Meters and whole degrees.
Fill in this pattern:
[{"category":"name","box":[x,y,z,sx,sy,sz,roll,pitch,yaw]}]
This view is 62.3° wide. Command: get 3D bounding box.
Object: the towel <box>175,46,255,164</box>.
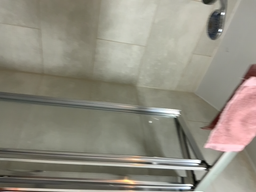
[{"category":"towel","box":[0.350,0.070,0.680,0.430,0.220,0.160,112,-20,-54]}]
